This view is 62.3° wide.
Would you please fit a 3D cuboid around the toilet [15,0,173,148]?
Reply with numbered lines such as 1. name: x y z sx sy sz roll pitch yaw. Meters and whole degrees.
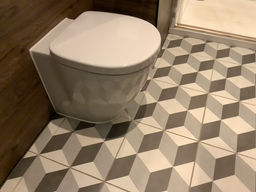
1. toilet: -0.110 -0.110 1.000 0.490 0.450 0.390 16 50 14
